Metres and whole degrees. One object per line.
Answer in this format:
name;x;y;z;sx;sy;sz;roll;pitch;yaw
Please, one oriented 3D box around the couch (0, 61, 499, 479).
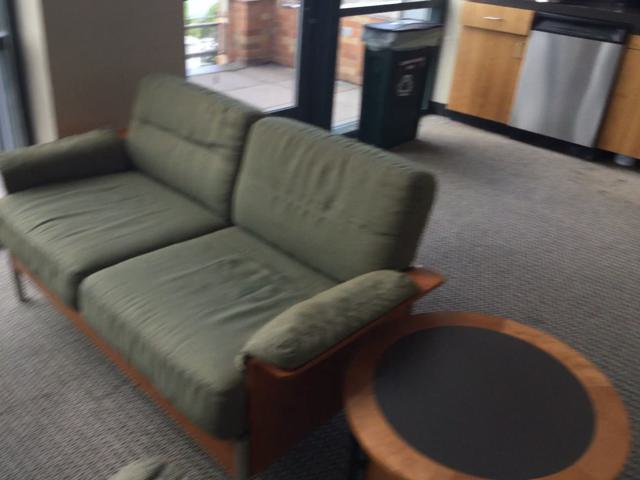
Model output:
couch;-0.390;0.000;1.840;0.800;0.780;1.550;-23;36;-37
